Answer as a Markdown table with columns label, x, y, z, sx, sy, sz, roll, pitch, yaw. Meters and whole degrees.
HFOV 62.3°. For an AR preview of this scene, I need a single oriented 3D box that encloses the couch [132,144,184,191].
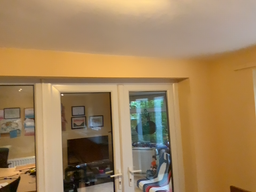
| label | x | y | z | sx | sy | sz | roll | pitch | yaw |
| --- | --- | --- | --- | --- | --- | --- | --- | --- | --- |
| couch | 0.570 | 1.500 | 4.340 | 0.670 | 0.790 | 0.980 | -2 | -3 | -17 |
